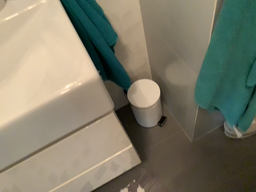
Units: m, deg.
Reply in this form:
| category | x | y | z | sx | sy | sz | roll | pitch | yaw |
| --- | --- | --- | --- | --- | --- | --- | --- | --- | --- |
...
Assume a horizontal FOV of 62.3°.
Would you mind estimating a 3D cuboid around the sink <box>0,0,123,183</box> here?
| category | x | y | z | sx | sy | sz | roll | pitch | yaw |
| --- | --- | --- | --- | --- | --- | --- | --- | --- | --- |
| sink | -0.460 | 0.020 | 0.520 | 0.760 | 0.190 | 0.440 | -28 | 58 | -5 |
